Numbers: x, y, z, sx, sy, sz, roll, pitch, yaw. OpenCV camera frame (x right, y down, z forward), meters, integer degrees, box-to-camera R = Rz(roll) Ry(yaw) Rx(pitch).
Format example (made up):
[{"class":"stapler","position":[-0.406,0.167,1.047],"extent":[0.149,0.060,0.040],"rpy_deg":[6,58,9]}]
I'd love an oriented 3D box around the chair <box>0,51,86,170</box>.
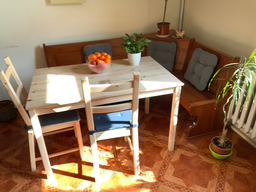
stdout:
[{"class":"chair","position":[-0.710,0.120,1.900],"extent":[0.510,0.910,0.410],"rpy_deg":[-9,30,-17]}]

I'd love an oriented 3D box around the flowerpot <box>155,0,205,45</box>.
[{"class":"flowerpot","position":[0.640,-1.290,2.580],"extent":[0.500,1.150,0.650],"rpy_deg":[5,29,8]}]

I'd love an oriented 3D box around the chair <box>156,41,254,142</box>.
[{"class":"chair","position":[0.770,-0.100,2.400],"extent":[0.580,0.820,0.770],"rpy_deg":[-9,30,-16]}]

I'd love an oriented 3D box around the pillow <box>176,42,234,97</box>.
[{"class":"pillow","position":[0.810,-0.290,2.320],"extent":[0.250,0.390,0.460],"rpy_deg":[7,33,-24]}]

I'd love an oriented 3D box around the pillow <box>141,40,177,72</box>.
[{"class":"pillow","position":[0.400,-0.520,2.730],"extent":[0.390,0.330,0.180],"rpy_deg":[15,37,39]}]

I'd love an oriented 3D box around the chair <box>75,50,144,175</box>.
[{"class":"chair","position":[-0.170,0.130,1.880],"extent":[0.430,0.910,0.510],"rpy_deg":[-9,30,-16]}]
